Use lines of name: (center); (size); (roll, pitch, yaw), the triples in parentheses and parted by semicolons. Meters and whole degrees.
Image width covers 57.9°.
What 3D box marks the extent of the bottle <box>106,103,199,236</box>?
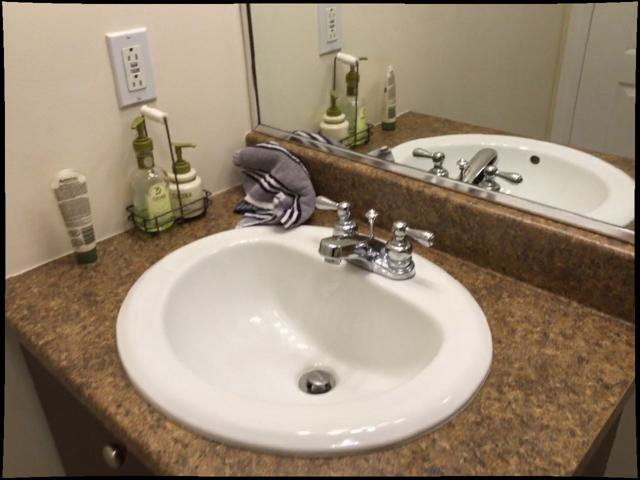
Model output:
bottle: (-0.280, -0.120, 0.980); (0.090, 0.190, 0.090); (23, 38, 35)

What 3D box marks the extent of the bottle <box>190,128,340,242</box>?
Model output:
bottle: (-0.100, -0.110, 1.060); (0.240, 0.110, 0.140); (23, 38, 35)

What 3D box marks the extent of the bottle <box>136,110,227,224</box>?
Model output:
bottle: (-0.240, -0.130, 1.020); (0.080, 0.160, 0.110); (23, 38, 35)

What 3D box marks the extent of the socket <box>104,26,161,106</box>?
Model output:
socket: (-0.300, -0.280, 0.930); (0.020, 0.110, 0.070); (23, 37, 35)

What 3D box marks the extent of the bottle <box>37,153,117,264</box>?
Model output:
bottle: (-0.380, -0.050, 0.910); (0.070, 0.150, 0.060); (23, 38, 35)
